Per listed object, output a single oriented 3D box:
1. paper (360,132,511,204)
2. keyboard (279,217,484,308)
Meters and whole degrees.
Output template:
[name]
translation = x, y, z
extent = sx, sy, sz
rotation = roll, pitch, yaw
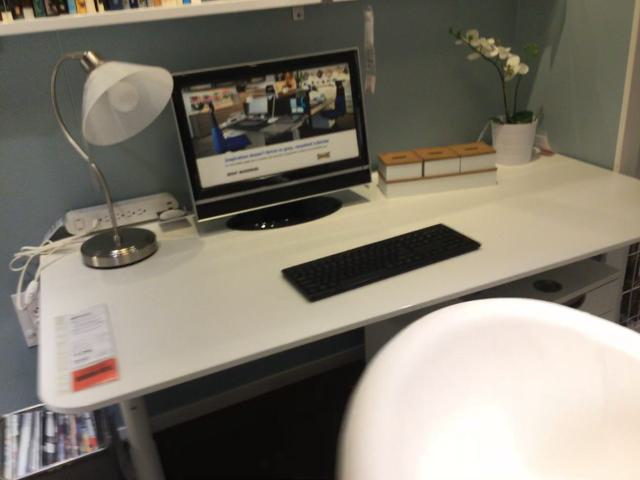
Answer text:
[paper]
translation = 0.340, -0.220, 1.720
extent = 0.400, 0.110, 0.170
rotation = -11, 23, -7
[keyboard]
translation = 0.140, 0.040, 1.300
extent = 0.430, 0.030, 0.170
rotation = -16, 25, -20
